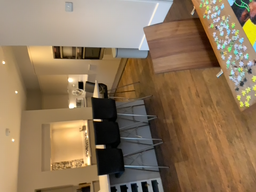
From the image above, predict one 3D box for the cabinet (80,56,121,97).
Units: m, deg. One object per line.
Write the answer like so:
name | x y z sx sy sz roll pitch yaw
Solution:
cabinet | -0.840 -0.540 6.120 1.190 0.950 0.600 117 147 -59
